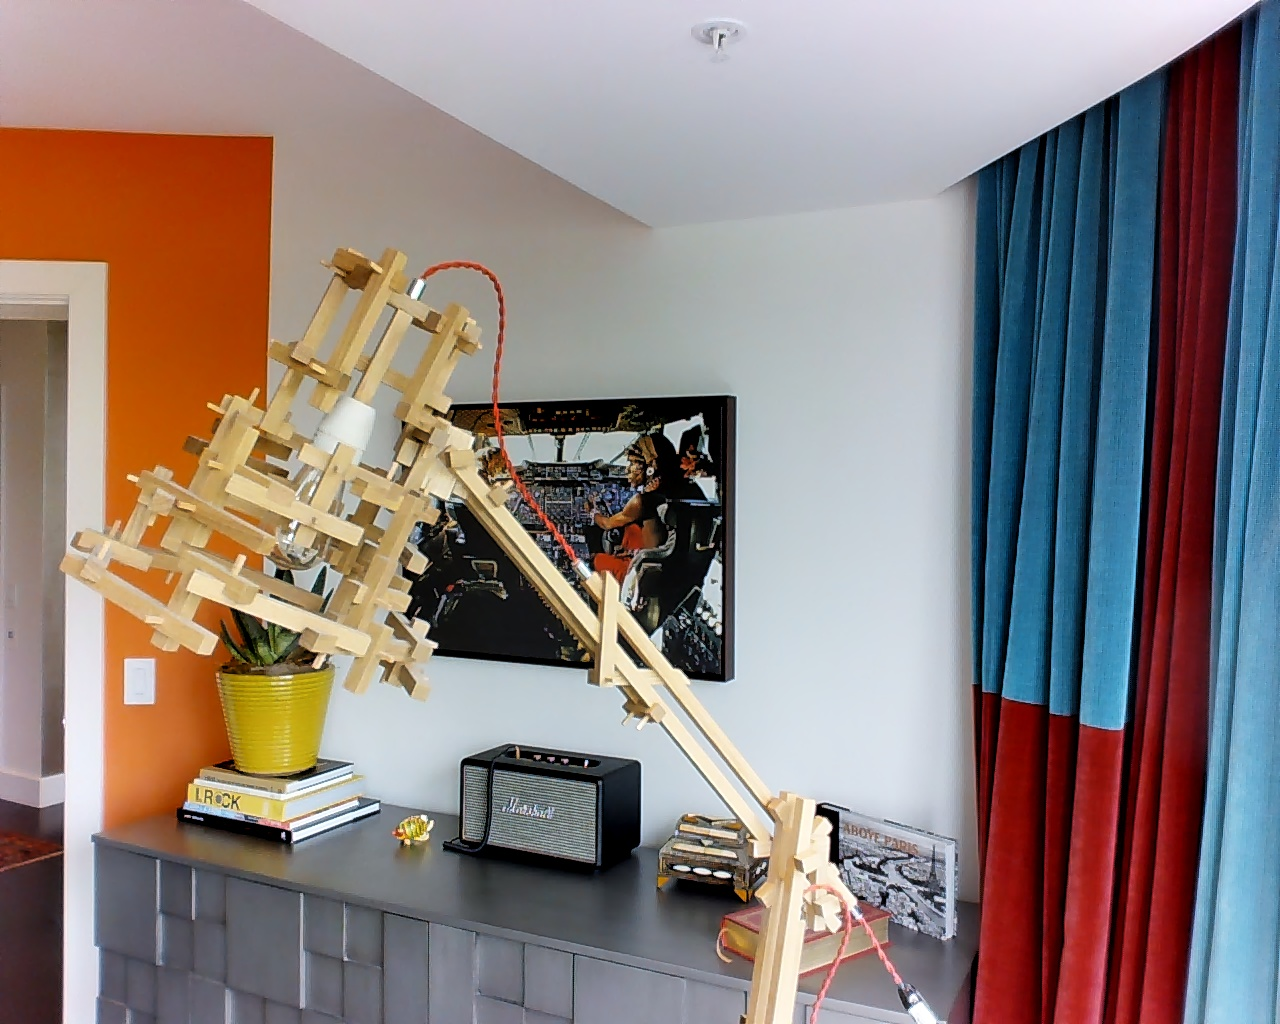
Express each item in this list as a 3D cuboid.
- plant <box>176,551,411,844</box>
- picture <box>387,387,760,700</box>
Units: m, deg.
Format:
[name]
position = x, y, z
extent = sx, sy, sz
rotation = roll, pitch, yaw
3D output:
[plant]
position = -0.820, 0.410, 2.570
extent = 0.370, 0.610, 0.380
rotation = 1, 0, 26
[picture]
position = -0.180, 0.060, 2.430
extent = 0.920, 0.640, 0.080
rotation = 1, 0, 26
